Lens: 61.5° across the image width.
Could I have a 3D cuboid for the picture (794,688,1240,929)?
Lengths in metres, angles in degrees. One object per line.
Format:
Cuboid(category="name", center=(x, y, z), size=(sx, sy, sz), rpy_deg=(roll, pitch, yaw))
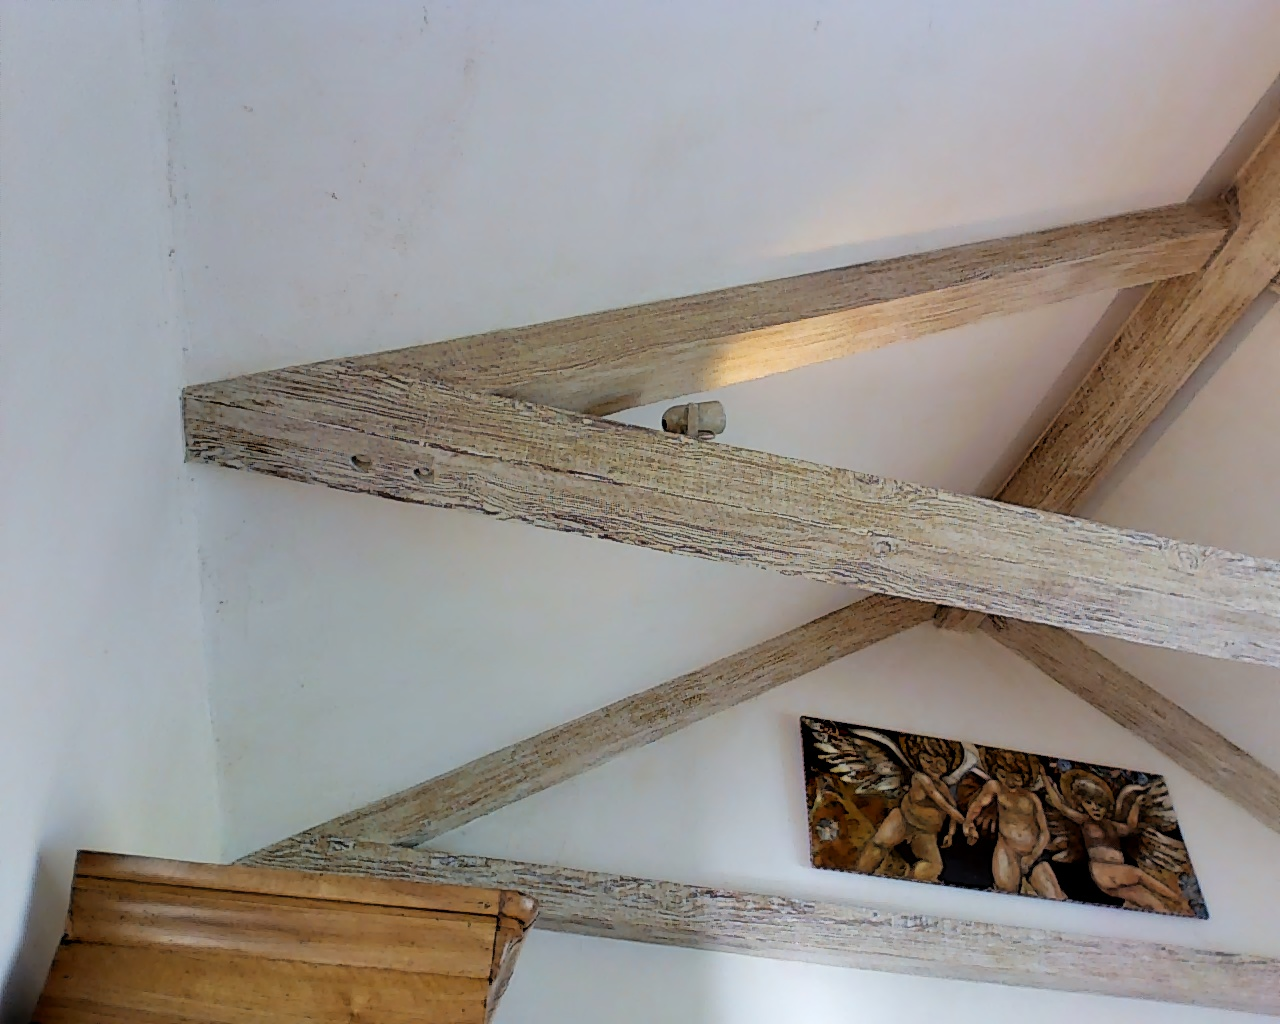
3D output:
Cuboid(category="picture", center=(1.370, 1.090, 3.980), size=(1.620, 0.680, 0.070), rpy_deg=(11, -42, -9))
